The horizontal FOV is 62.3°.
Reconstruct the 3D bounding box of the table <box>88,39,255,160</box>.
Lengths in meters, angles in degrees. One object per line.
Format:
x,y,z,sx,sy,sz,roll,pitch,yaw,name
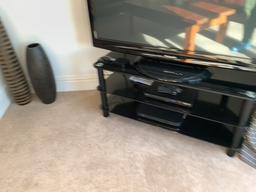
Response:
0.310,-0.040,1.570,1.060,0.500,0.460,14,38,23,table

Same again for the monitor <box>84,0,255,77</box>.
0.260,-0.540,1.180,1.200,0.760,0.050,14,38,22,monitor
